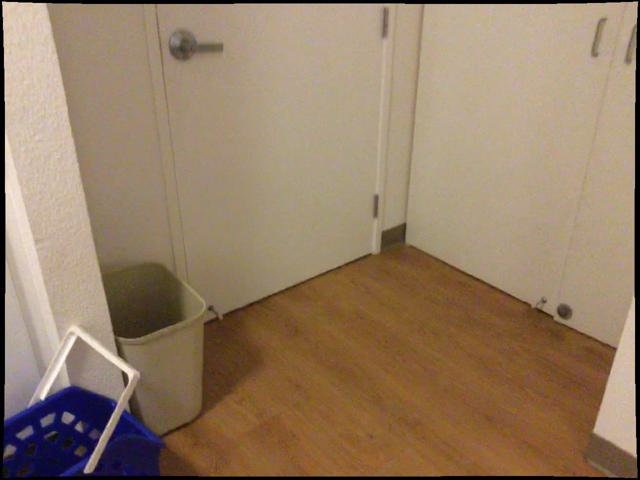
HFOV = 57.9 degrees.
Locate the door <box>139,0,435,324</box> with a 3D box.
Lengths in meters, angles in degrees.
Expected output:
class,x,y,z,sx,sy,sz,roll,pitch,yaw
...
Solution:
class,x,y,z,sx,sy,sz,roll,pitch,yaw
door,-0.040,-0.771,1.950,1.119,2.022,0.130,-22,37,-32
